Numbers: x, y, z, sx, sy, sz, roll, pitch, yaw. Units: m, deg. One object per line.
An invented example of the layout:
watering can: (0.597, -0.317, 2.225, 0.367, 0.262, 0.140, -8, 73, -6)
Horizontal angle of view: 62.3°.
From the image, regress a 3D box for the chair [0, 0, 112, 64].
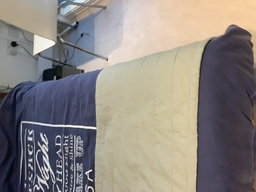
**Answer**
chair: (-0.610, -0.570, 1.690, 0.460, 0.870, 0.380, -9, 79, 43)
